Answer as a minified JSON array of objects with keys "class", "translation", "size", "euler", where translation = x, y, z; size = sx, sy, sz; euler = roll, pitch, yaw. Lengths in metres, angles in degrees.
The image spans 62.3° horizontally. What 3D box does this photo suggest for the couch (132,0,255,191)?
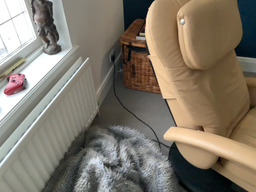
[{"class":"couch","translation":[0.650,0.110,1.210],"size":[1.080,1.130,0.660],"euler":[32,51,33]}]
